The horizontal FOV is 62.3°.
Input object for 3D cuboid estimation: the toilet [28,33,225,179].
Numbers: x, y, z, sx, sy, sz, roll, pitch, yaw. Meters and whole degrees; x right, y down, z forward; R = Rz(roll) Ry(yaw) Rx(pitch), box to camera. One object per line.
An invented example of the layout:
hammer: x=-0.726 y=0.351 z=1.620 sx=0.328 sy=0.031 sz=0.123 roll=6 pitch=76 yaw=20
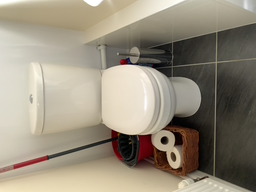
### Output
toilet: x=-0.030 y=0.010 z=1.100 sx=0.670 sy=0.770 sz=0.420 roll=3 pitch=94 yaw=55
